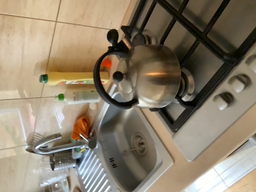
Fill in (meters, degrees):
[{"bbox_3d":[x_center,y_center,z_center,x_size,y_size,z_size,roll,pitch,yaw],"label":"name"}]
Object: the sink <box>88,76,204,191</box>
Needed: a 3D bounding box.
[{"bbox_3d":[0.030,0.200,0.940,0.410,0.170,0.410,58,135,32],"label":"sink"}]
